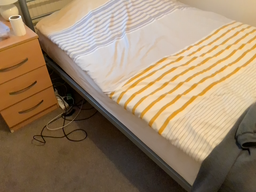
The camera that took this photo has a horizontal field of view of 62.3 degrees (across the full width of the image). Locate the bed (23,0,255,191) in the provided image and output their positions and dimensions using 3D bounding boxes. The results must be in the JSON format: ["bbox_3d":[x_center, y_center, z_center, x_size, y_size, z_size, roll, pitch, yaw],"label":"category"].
[{"bbox_3d":[0.360,-0.190,1.610,1.320,0.570,2.100,-31,51,-29],"label":"bed"}]
